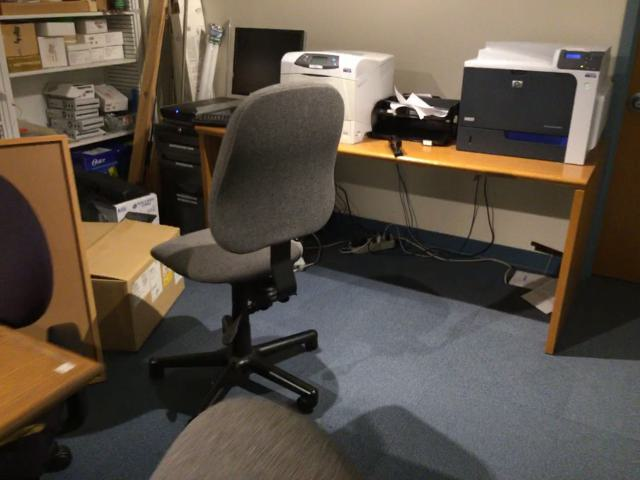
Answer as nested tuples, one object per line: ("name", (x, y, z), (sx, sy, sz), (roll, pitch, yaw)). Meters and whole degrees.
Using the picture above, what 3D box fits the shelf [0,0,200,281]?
("shelf", (-1.620, -0.900, 2.870), (0.540, 2.000, 2.050), (12, 25, 31))

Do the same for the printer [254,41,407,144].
("printer", (0.060, -0.720, 2.740), (0.540, 0.390, 0.470), (12, 25, 31))

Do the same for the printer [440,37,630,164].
("printer", (0.890, -0.610, 2.410), (0.610, 0.420, 0.480), (12, 25, 31))
